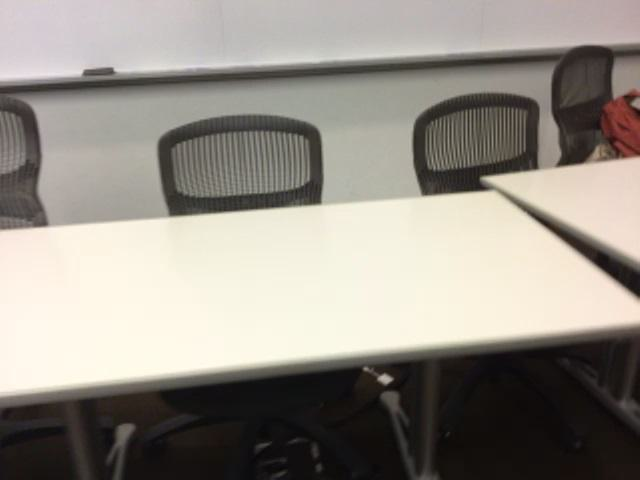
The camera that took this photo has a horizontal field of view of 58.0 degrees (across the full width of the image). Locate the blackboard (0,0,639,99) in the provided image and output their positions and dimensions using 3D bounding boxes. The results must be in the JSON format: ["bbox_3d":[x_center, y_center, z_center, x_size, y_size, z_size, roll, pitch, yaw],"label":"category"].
[{"bbox_3d":[0.160,-0.910,2.500,3.380,0.440,0.260,-4,19,-8],"label":"blackboard"}]
